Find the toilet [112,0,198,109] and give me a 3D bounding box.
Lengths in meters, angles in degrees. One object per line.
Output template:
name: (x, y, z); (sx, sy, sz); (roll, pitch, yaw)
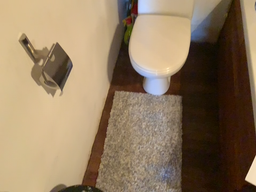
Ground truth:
toilet: (0.190, -0.390, 1.340); (0.350, 0.720, 0.650); (6, 60, 9)
